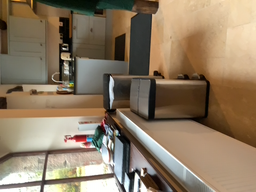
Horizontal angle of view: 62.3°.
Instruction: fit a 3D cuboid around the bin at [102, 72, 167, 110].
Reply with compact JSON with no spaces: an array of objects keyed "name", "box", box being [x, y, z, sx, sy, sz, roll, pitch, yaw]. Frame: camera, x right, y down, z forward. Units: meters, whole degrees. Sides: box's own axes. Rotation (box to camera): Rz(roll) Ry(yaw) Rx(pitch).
[{"name":"bin","box":[0.060,-0.060,2.400,0.310,0.650,0.370,-153,65,-70]}]
